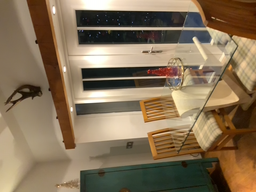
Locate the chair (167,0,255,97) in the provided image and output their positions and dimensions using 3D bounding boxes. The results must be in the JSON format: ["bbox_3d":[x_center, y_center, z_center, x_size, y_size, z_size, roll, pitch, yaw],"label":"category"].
[{"bbox_3d":[0.880,-0.370,1.560,0.570,0.980,0.440,98,166,-46],"label":"chair"}]

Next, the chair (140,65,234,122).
[{"bbox_3d":[0.700,-0.030,2.730,0.590,0.960,0.400,98,166,-46],"label":"chair"}]

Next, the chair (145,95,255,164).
[{"bbox_3d":[0.760,0.370,2.360,0.590,1.000,0.430,98,166,-46],"label":"chair"}]
